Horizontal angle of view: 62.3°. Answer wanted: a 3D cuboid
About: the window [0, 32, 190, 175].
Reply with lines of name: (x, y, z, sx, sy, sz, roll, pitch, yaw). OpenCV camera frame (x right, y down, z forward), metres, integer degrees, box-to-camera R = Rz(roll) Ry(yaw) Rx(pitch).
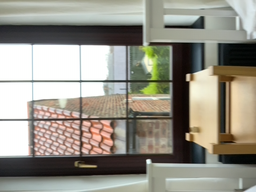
window: (-0.300, 0.060, 1.570, 0.060, 1.500, 1.020, -140, 50, -86)

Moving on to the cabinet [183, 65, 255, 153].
cabinet: (0.740, 0.050, 1.040, 0.350, 0.840, 0.350, -178, 88, -87)
